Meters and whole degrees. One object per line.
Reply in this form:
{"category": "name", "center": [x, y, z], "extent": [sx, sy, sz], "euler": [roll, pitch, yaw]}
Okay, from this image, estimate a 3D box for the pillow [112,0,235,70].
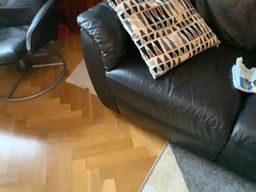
{"category": "pillow", "center": [0.240, -0.370, 1.140], "extent": [0.440, 0.180, 0.450], "euler": [-38, 37, -25]}
